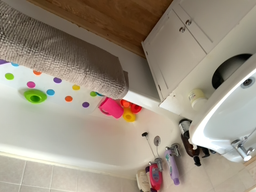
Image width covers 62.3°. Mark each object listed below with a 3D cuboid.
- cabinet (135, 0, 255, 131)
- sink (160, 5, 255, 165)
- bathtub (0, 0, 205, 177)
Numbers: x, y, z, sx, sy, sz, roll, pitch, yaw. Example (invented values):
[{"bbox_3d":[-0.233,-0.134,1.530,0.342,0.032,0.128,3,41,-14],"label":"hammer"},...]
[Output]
[{"bbox_3d":[0.420,-0.290,1.130,0.400,0.620,0.620,21,125,-26],"label":"cabinet"},{"bbox_3d":[0.480,-0.010,0.830,0.390,0.220,0.580,21,125,-26],"label":"sink"},{"bbox_3d":[-0.450,-0.060,1.230,1.620,0.530,0.680,21,125,-26],"label":"bathtub"}]
